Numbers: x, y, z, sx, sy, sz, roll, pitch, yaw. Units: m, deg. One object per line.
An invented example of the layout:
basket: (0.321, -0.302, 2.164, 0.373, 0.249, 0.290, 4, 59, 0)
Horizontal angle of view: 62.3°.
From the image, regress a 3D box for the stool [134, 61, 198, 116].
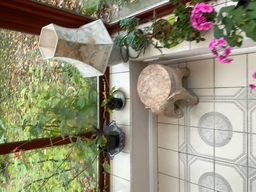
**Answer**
stool: (0.270, -0.050, 1.530, 0.330, 0.300, 0.340, 3, 92, 45)
